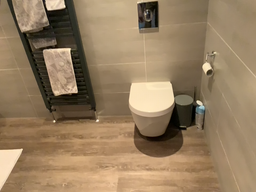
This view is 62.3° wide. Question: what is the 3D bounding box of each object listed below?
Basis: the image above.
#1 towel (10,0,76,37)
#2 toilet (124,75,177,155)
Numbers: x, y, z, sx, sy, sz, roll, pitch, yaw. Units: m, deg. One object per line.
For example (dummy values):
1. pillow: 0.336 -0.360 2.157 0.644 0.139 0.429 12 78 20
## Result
1. towel: -0.640 -0.660 1.610 0.380 0.350 0.150 -2 33 7
2. toilet: 0.200 0.150 1.810 0.370 0.450 0.510 -2 33 7
